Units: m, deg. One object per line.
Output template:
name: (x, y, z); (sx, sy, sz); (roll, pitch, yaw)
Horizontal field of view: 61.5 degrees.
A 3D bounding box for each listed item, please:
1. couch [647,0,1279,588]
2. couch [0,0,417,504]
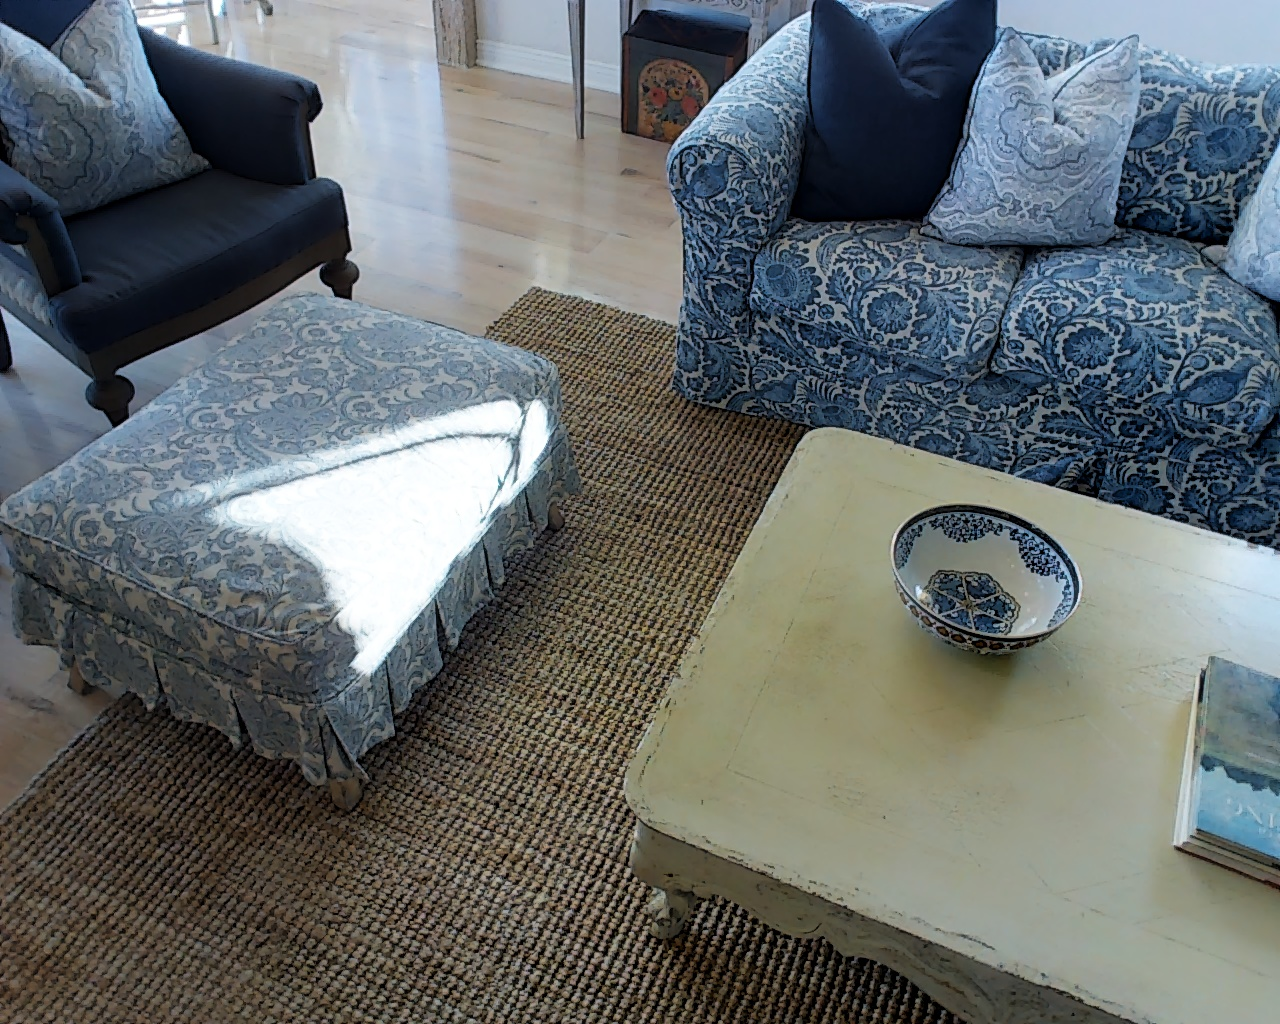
couch: (1.220, -0.560, 2.530); (2.130, 0.740, 1.070); (18, 45, 16)
couch: (-1.170, -0.800, 2.470); (0.840, 1.040, 0.840); (27, 48, 24)
